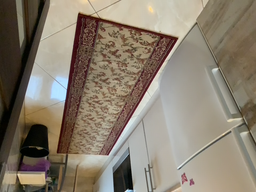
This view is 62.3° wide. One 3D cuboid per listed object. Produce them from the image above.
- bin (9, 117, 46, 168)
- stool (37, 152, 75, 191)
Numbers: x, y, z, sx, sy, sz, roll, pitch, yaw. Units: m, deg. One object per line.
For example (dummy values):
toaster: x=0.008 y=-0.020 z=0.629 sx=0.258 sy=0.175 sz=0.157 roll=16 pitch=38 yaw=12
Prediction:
bin: x=-1.000 y=0.480 z=2.160 sx=0.250 sy=0.410 sz=0.310 roll=6 pitch=141 yaw=-15
stool: x=-0.950 y=1.070 z=2.860 sx=0.300 sy=0.480 sz=0.350 roll=-13 pitch=142 yaw=8
